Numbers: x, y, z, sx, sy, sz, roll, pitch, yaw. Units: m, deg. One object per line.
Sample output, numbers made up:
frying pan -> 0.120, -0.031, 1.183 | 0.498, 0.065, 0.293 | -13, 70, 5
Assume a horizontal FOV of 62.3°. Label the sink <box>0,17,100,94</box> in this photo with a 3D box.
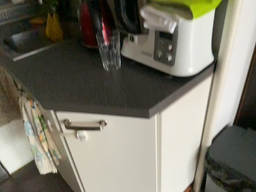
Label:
sink -> -0.480, -0.270, 1.240 | 0.470, 0.190, 0.390 | -32, 44, -32
